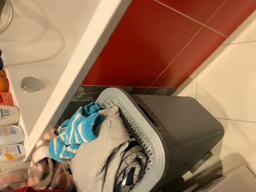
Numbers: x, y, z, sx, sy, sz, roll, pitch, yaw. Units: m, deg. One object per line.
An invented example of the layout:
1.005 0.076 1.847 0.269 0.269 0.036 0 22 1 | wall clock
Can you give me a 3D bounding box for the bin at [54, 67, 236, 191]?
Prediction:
0.050 0.190 0.840 0.480 0.440 0.320 -51 58 31 | bin
